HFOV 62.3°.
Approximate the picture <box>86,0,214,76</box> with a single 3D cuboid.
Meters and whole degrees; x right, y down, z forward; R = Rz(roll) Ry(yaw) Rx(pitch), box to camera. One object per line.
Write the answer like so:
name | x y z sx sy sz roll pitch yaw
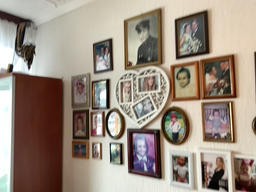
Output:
picture | 0.060 -0.350 1.340 0.900 0.350 0.040 -4 -4 37
